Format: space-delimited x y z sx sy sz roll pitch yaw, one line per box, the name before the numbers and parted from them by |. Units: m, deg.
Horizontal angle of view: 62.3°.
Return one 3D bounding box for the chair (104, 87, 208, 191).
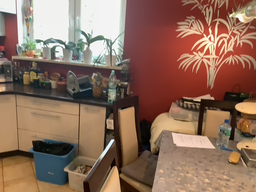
chair | 0.190 0.520 1.740 0.590 1.040 0.470 16 18 38
